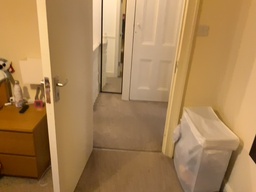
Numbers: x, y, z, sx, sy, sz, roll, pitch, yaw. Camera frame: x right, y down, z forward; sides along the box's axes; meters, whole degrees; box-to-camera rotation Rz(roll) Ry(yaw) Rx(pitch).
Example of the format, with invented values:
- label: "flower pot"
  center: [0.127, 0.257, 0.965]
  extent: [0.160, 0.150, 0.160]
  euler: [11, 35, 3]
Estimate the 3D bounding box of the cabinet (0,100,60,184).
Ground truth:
- label: "cabinet"
  center: [-0.950, 0.400, 1.960]
  extent: [0.450, 0.540, 0.500]
  euler: [5, 23, 1]
